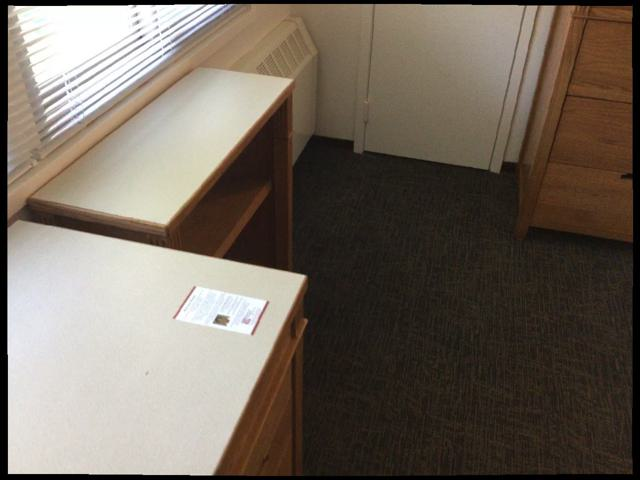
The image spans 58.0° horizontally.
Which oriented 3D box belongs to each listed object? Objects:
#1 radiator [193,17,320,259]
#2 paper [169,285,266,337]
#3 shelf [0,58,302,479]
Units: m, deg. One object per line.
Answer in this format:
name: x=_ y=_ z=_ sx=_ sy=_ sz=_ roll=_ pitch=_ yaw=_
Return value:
radiator: x=-0.210 y=-0.471 z=2.380 sx=0.190 sy=0.611 sz=0.991 roll=9 pitch=36 yaw=9
paper: x=-0.160 y=0.110 z=0.910 sx=0.130 sy=0.010 sz=0.080 roll=9 pitch=36 yaw=9
shelf: x=-0.349 y=0.050 z=1.600 sx=0.369 sy=0.781 sz=0.950 roll=9 pitch=36 yaw=9
